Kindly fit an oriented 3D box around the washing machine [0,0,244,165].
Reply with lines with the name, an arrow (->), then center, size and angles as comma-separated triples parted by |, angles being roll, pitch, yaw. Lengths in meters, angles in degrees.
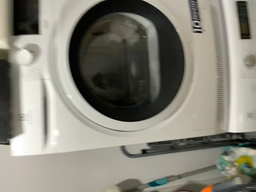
washing machine -> -0.090, -0.120, 1.100 | 0.800, 0.850, 0.640 | 166, 101, -70
